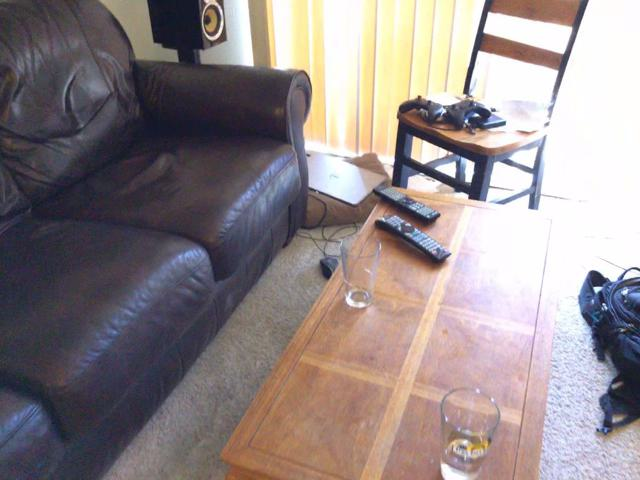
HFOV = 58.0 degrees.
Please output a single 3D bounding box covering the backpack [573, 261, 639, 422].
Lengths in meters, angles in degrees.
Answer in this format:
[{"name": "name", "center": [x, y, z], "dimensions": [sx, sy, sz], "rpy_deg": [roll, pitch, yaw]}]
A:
[{"name": "backpack", "center": [0.980, 0.270, 1.630], "dimensions": [0.350, 0.180, 0.510], "rpy_deg": [2, 27, 7]}]
